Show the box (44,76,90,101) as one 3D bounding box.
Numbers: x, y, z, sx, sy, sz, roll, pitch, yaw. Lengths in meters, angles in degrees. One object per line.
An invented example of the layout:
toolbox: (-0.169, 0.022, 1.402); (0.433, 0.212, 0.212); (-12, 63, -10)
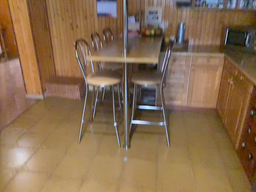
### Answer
box: (-1.020, -0.140, 3.600); (0.620, 0.260, 0.400); (4, 24, 9)
